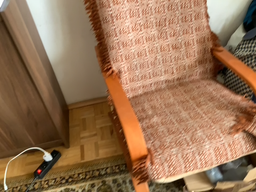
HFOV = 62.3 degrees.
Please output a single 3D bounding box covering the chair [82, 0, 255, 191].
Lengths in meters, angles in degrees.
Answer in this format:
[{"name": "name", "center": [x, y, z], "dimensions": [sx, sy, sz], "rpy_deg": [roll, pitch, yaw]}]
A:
[{"name": "chair", "center": [0.220, -0.110, 1.000], "dimensions": [0.660, 0.970, 0.810], "rpy_deg": [-14, 45, -10]}]
